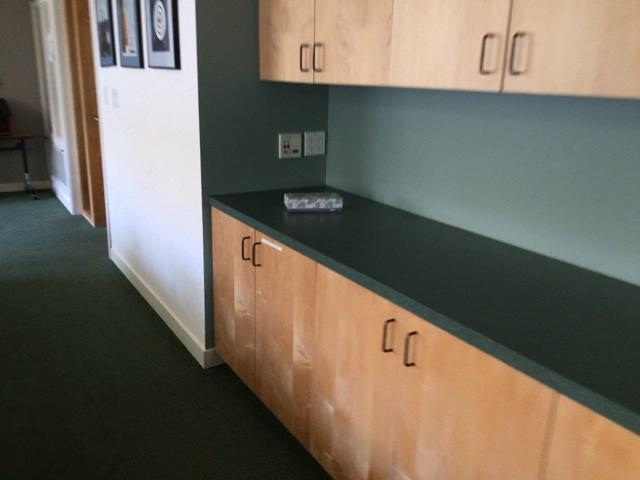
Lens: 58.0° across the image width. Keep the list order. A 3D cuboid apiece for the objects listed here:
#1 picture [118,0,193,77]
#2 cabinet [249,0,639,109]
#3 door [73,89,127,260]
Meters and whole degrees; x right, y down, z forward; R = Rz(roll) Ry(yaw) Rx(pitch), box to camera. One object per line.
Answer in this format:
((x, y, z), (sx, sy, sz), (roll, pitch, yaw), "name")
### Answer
((-0.790, -1.020, 2.710), (0.080, 0.470, 0.850), (-6, 18, -33), "picture")
((0.240, -0.620, 1.760), (0.140, 0.310, 1.700), (-1, 16, -34), "cabinet")
((-1.680, -0.520, 4.370), (0.160, 1.160, 0.810), (-1, 16, -34), "door")
